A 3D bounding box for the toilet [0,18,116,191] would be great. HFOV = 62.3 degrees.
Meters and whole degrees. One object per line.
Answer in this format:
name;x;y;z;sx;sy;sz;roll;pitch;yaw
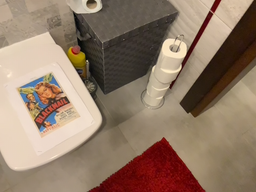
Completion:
toilet;-0.360;0.070;0.940;0.360;0.480;0.530;-28;69;-20
